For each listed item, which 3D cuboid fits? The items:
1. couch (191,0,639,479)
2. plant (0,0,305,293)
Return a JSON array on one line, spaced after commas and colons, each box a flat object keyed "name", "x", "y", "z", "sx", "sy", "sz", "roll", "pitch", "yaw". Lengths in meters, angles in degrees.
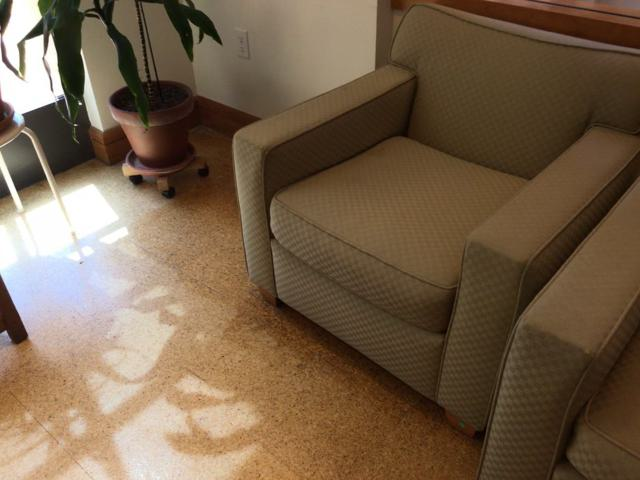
[{"name": "couch", "x": 0.340, "y": -0.140, "z": 1.600, "sx": 0.930, "sy": 0.780, "sz": 0.890, "roll": 29, "pitch": 45, "yaw": 36}, {"name": "plant", "x": -0.660, "y": -0.860, "z": 1.760, "sx": 0.960, "sy": 1.720, "sz": 0.670, "roll": 25, "pitch": 43, "yaw": 32}]
